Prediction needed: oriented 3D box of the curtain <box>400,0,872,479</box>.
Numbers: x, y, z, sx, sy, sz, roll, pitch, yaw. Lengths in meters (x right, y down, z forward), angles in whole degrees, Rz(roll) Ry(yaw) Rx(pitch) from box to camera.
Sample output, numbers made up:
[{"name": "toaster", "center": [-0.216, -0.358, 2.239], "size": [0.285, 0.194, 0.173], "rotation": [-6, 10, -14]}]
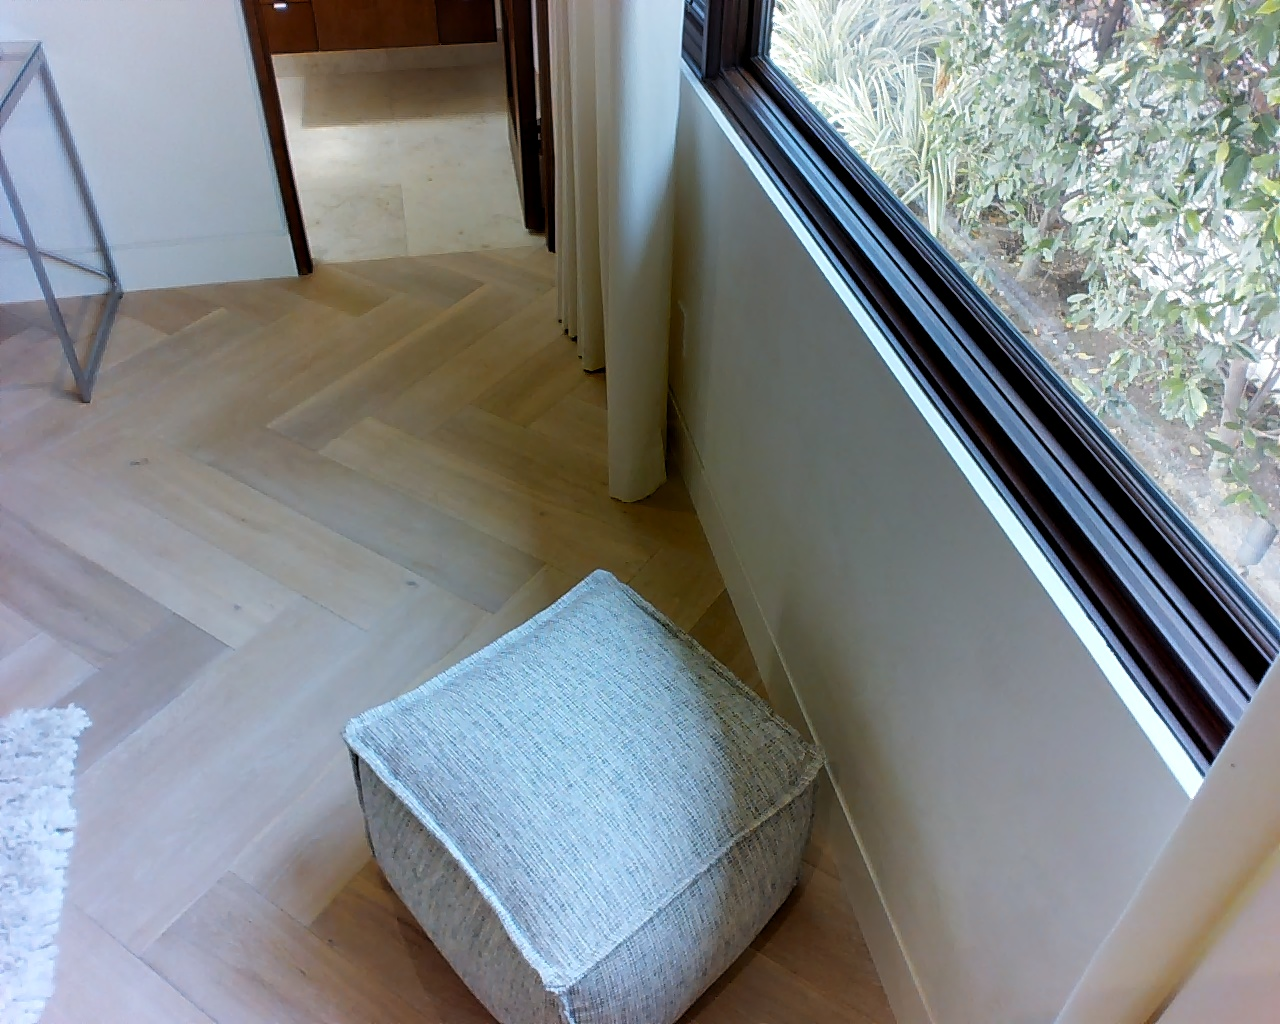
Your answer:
[{"name": "curtain", "center": [-0.040, -1.410, 2.040], "size": [1.030, 2.820, 0.280], "rotation": [23, 46, 24]}]
